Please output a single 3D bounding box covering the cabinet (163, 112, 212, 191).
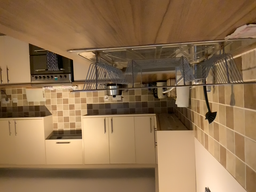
[{"bbox_3d":[0.590,0.660,2.310,0.310,0.840,1.100,-2,-178,6],"label":"cabinet"}]

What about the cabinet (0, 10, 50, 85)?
[{"bbox_3d":[-1.640,-0.620,3.020,0.740,0.900,0.650,-2,-178,6],"label":"cabinet"}]

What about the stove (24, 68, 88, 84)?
[{"bbox_3d":[-0.960,-0.260,2.950,0.600,0.160,0.680,-2,-178,6],"label":"stove"}]

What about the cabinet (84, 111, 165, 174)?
[{"bbox_3d":[-0.040,0.660,3.080,1.090,0.840,0.300,-2,-178,6],"label":"cabinet"}]
